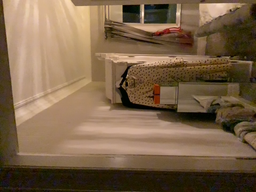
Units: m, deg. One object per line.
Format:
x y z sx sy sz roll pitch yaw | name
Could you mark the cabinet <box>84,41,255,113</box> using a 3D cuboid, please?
0.640 -0.460 3.910 2.950 2.220 0.800 -82 -7 -80 | cabinet
